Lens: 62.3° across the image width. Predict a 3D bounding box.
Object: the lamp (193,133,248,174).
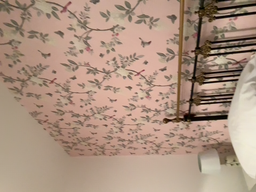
[{"bbox_3d":[0.910,0.590,2.150,0.250,0.410,0.310,75,-167,-51],"label":"lamp"}]
